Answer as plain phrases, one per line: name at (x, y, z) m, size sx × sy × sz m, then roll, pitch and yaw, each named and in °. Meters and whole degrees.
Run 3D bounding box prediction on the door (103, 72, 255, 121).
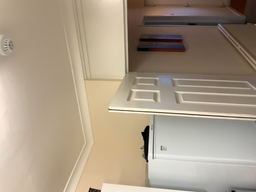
door at (0.890, -0.010, 1.490) m, size 0.700 × 2.010 × 0.050 m, roll -73°, pitch -16°, yaw -66°
